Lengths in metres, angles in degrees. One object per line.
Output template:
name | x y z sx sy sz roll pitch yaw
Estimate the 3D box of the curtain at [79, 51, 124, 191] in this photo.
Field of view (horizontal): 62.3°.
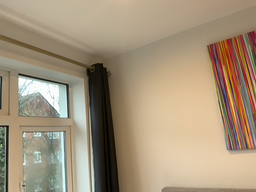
curtain | -0.210 0.650 1.890 0.160 2.110 0.300 -13 -13 31
